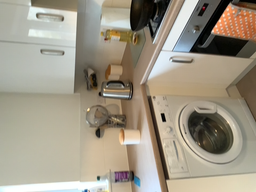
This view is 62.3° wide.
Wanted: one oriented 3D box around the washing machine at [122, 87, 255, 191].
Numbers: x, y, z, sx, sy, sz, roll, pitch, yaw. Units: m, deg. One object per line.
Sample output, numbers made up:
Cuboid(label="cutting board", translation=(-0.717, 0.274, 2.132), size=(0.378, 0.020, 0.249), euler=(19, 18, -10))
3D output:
Cuboid(label="washing machine", translation=(0.500, 0.380, 1.690), size=(0.610, 0.910, 0.620), euler=(113, 154, -51))
